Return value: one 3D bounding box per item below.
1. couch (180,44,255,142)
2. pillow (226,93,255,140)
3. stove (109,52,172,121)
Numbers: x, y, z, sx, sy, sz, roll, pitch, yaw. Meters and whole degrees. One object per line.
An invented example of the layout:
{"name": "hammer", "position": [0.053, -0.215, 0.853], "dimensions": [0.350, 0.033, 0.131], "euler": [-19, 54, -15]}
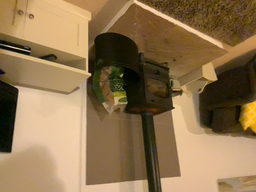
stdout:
{"name": "couch", "position": [1.960, 0.130, 3.190], "dimensions": [1.920, 0.880, 1.230], "euler": [11, 156, -34]}
{"name": "pillow", "position": [1.540, 0.260, 2.790], "dimensions": [0.220, 0.430, 0.460], "euler": [-28, -178, 39]}
{"name": "stove", "position": [0.130, -0.070, 2.340], "dimensions": [0.520, 0.570, 0.390], "euler": [13, 154, -39]}
